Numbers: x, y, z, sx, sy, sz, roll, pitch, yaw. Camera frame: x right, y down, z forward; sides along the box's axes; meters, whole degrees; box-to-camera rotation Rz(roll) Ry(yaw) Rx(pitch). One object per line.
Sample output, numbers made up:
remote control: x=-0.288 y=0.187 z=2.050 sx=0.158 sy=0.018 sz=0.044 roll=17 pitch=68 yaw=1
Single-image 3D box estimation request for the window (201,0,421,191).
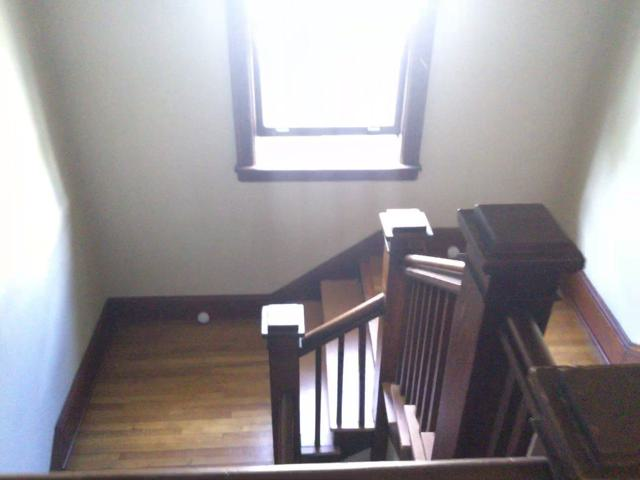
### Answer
window: x=-0.030 y=-1.040 z=3.050 sx=1.070 sy=1.470 sz=0.300 roll=-5 pitch=29 yaw=0
